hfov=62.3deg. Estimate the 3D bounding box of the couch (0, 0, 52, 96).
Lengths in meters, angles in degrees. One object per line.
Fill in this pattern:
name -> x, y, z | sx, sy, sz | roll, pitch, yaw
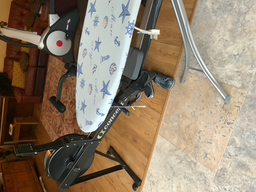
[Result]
couch -> -2.330, -1.540, 4.710 | 1.070, 0.740, 2.830 | 31, 111, 49
